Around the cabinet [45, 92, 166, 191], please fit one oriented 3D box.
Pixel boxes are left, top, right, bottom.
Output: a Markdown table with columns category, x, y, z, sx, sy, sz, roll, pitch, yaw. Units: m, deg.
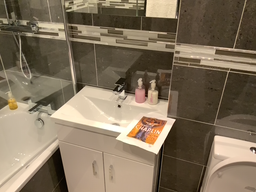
| category | x | y | z | sx | sy | sz | roll | pitch | yaw |
| --- | --- | --- | --- | --- | --- | --- | --- | --- | --- |
| cabinet | -0.120 | 0.460 | 1.480 | 0.620 | 0.790 | 0.390 | 11 | 32 | 16 |

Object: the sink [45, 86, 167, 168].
| category | x | y | z | sx | sy | sz | roll | pitch | yaw |
| --- | --- | --- | --- | --- | --- | --- | --- | --- | --- |
| sink | -0.110 | 0.150 | 1.300 | 0.620 | 0.170 | 0.390 | 11 | 32 | 16 |
